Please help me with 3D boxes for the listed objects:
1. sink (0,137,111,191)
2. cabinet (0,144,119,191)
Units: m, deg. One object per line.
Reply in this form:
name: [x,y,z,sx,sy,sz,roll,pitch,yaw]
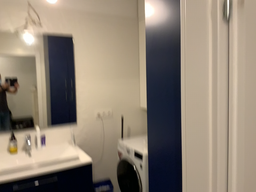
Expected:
sink: [-0.670,0.600,1.930,0.900,0.190,0.490,-4,7,-27]
cabinet: [-0.660,0.870,1.940,1.020,0.550,0.530,-4,7,-27]
